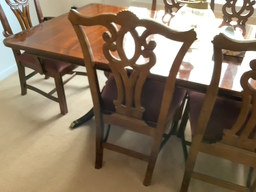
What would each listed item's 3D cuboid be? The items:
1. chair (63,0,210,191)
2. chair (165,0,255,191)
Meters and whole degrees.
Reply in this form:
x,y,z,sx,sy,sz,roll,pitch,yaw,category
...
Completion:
x,y,z,sx,sy,sz,roll,pitch,yaw,category
0.070,-0.040,1.260,0.530,0.990,0.590,14,36,14,chair
0.580,0.100,1.120,0.520,0.980,0.590,14,36,14,chair
